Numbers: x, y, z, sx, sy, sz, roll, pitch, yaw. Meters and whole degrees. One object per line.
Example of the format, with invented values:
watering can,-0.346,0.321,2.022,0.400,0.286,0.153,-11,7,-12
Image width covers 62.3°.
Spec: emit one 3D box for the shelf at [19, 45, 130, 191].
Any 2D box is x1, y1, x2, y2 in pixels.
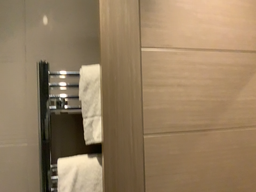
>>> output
shelf,-0.180,0.580,0.800,0.370,1.510,0.090,-1,1,-11
